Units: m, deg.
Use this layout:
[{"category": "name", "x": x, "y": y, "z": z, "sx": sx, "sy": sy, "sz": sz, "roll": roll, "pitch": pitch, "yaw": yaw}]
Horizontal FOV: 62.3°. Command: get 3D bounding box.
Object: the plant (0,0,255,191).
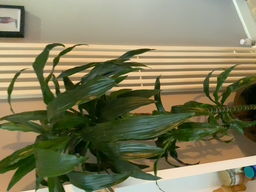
[{"category": "plant", "x": 0.380, "y": 0.050, "z": 0.880, "sx": 0.650, "sy": 1.790, "sz": 0.550, "roll": 122, "pitch": 142, "yaw": -63}]
